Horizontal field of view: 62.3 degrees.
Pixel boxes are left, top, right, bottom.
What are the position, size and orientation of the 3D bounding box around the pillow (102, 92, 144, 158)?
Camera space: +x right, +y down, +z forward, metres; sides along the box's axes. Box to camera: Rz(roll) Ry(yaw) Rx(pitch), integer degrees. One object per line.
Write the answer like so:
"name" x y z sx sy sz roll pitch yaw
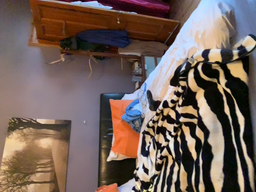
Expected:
"pillow" -0.050 0.340 2.550 0.150 0.300 0.720 126 161 -66
